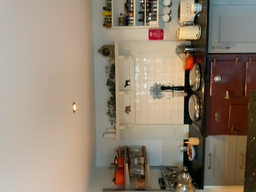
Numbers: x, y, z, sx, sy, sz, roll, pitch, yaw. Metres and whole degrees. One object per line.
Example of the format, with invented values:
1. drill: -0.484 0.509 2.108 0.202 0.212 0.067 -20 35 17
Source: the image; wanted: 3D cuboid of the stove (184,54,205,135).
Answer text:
1. stove: 0.800 -0.040 2.590 0.550 0.060 0.900 -86 -5 -83
